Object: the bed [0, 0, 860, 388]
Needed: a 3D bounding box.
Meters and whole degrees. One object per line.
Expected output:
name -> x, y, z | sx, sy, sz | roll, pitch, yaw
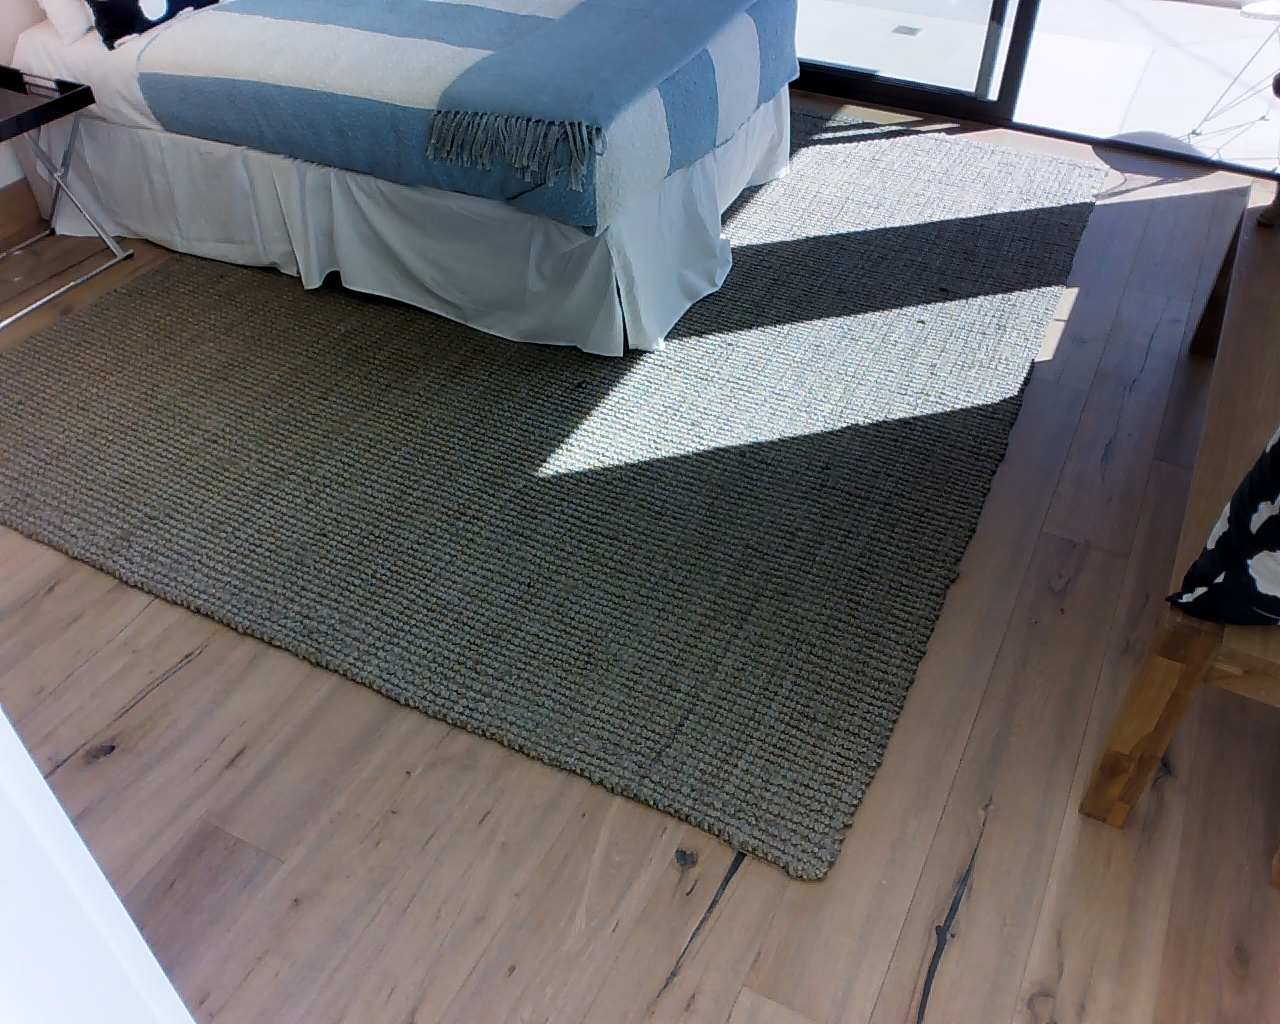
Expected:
bed -> -0.610, -1.350, 3.380 | 2.160, 0.680, 1.520 | 19, 45, 19
